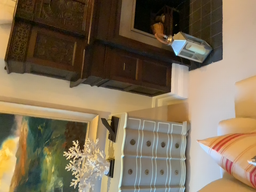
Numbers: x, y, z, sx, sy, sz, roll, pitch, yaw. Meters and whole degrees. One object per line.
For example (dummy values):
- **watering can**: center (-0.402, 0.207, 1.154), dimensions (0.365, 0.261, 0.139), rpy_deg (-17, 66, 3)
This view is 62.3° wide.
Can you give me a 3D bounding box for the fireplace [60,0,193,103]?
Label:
- **fireplace**: center (0.030, -1.060, 2.720), dimensions (0.820, 1.330, 2.060), rpy_deg (-17, 66, 61)
